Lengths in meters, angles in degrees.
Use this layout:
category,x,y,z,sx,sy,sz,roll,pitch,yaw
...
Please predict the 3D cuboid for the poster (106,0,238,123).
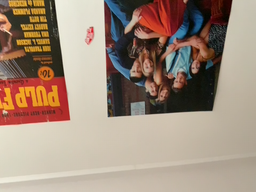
category,x,y,z,sx,sy,sz,roll,pitch,yaw
poster,0.210,-0.330,1.010,0.620,0.960,0.050,-5,-155,-12
